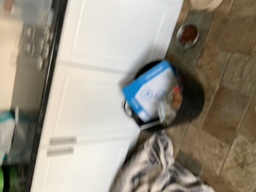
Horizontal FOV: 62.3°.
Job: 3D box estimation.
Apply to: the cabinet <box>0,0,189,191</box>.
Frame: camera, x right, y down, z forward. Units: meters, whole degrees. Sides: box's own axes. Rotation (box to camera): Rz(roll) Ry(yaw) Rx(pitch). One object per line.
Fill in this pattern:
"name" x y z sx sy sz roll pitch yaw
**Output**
"cabinet" -0.310 -0.020 1.650 0.610 0.890 2.570 31 110 45
